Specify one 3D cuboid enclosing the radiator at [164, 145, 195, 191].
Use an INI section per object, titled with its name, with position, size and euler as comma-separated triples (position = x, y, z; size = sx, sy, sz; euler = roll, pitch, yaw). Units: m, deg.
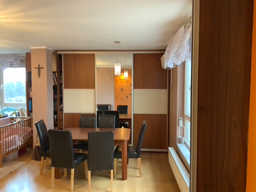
[radiator]
position = 0.760, 1.210, 3.400
size = 0.160, 0.380, 1.630
euler = 0, 4, 2
